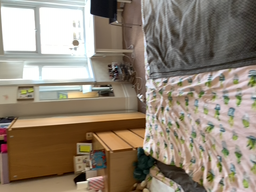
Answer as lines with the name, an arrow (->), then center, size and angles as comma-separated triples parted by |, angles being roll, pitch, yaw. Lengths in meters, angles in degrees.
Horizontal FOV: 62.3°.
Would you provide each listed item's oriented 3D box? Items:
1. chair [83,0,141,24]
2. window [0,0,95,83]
chair -> -0.280, -1.470, 3.520 | 0.520, 0.830, 0.390 | -152, 62, -66
window -> -1.650, -1.250, 3.760 | 0.690, 1.950, 2.000 | -169, 77, -69
